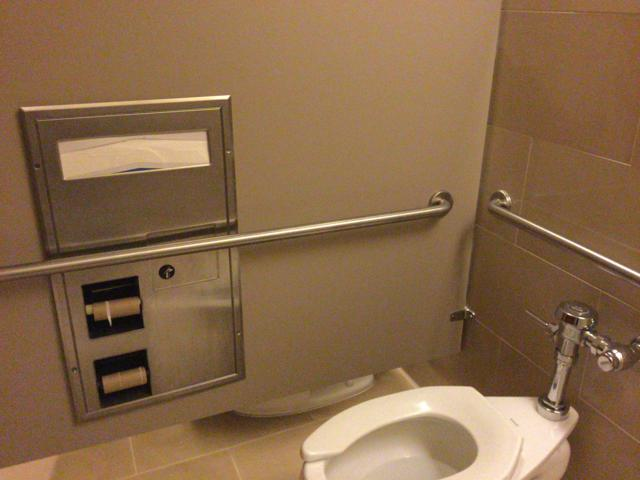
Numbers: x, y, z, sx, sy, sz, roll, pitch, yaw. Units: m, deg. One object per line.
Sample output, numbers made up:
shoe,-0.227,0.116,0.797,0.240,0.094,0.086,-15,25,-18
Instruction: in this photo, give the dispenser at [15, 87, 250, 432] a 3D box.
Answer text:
dispenser,-0.420,0.050,1.410,0.440,0.790,0.130,-8,22,-21
